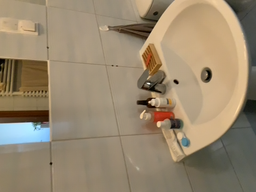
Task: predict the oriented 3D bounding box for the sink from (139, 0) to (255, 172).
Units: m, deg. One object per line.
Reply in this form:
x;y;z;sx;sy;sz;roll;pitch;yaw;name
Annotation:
0.290;-0.090;0.820;0.480;0.180;0.610;125;139;-50;sink
